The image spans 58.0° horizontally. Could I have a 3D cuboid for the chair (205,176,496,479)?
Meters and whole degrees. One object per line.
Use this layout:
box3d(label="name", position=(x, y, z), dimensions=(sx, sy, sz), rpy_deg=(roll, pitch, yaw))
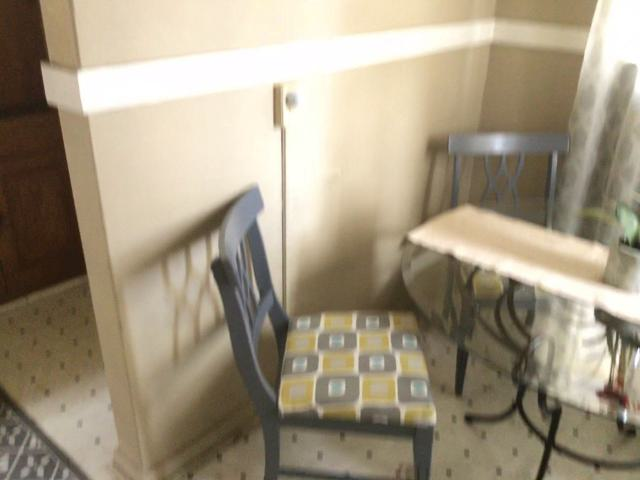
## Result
box3d(label="chair", position=(0.040, 0.350, 1.620), dimensions=(0.600, 0.850, 0.530), rpy_deg=(7, 29, 1))

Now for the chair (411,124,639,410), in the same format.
box3d(label="chair", position=(0.750, 0.070, 2.200), dimensions=(0.520, 0.860, 0.650), rpy_deg=(-1, 25, -10))

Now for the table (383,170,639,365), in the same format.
box3d(label="table", position=(0.750, 0.100, 1.440), dimensions=(1.180, 0.180, 0.380), rpy_deg=(25, 33, 37))
